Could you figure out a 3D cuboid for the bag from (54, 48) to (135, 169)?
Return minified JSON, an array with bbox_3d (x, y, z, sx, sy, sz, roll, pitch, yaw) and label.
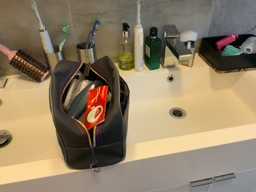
[{"bbox_3d":[-0.080,0.010,0.510,0.140,0.140,0.260,-8,38,-8],"label":"bag"}]
